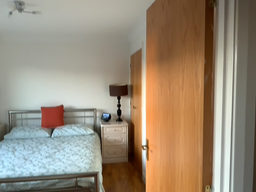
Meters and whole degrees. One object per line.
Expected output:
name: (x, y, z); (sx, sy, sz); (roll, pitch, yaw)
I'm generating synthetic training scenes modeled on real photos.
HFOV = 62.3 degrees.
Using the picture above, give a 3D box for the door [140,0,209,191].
door: (0.210, 0.410, 1.250); (0.050, 1.990, 0.760); (-1, 4, -14)
